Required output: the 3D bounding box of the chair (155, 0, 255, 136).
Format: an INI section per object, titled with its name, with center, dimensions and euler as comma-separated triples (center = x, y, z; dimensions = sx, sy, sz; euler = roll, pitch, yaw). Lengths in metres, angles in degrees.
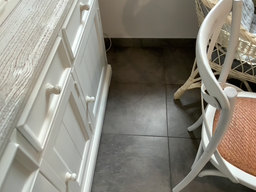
[chair]
center = 0.630, -0.340, 1.290
dimensions = 0.680, 0.840, 0.620
euler = 20, 55, 17
